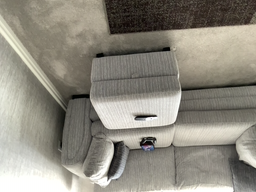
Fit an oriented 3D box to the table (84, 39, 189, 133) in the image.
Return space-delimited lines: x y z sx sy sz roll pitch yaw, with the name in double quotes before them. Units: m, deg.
"table" 0.070 -0.040 1.680 0.650 0.430 0.610 -4 150 4
